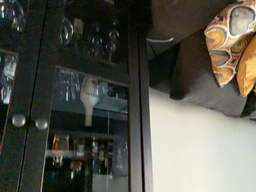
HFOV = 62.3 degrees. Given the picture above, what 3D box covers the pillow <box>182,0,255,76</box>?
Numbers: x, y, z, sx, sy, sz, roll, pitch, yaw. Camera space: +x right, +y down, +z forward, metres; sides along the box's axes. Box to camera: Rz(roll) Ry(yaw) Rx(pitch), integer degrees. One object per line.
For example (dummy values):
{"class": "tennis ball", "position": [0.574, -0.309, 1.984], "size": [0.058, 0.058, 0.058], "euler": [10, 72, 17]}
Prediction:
{"class": "pillow", "position": [0.520, -0.350, 1.040], "size": [0.240, 0.380, 0.290], "euler": [-20, 176, -43]}
